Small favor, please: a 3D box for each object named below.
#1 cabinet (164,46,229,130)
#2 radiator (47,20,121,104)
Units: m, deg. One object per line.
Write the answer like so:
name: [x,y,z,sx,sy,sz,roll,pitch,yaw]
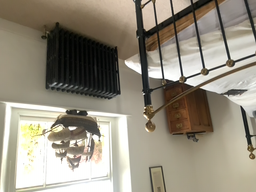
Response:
cabinet: [0.970,-0.060,2.990,0.770,1.010,0.400,10,160,-42]
radiator: [-0.410,-0.300,2.140,0.750,0.680,0.120,10,159,-43]
